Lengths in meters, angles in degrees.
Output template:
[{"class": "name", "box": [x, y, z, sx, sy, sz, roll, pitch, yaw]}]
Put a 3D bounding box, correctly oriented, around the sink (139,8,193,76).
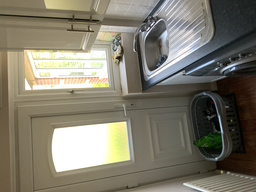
[{"class": "sink", "box": [0.300, -0.430, 1.800, 0.430, 0.220, 0.410, 153, 112, -68]}]
